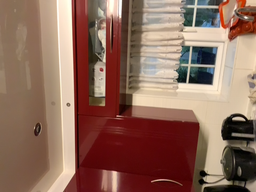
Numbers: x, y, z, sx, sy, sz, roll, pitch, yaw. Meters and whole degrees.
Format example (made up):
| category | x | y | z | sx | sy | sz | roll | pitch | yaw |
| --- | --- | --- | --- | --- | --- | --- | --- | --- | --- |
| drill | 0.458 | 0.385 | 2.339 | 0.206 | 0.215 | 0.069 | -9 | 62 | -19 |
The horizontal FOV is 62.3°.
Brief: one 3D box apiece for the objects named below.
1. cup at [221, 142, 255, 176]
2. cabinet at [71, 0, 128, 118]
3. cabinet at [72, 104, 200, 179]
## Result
| category | x | y | z | sx | sy | sz | roll | pitch | yaw |
| --- | --- | --- | --- | --- | --- | --- | --- | --- | --- |
| cup | 0.820 | 0.470 | 1.580 | 0.270 | 0.150 | 0.210 | 73 | -158 | -70 |
| cabinet | -0.190 | -0.440 | 1.520 | 0.300 | 0.320 | 1.130 | -58 | -29 | -74 |
| cabinet | 0.050 | 0.330 | 1.660 | 0.300 | 0.890 | 0.400 | -58 | -29 | -74 |
